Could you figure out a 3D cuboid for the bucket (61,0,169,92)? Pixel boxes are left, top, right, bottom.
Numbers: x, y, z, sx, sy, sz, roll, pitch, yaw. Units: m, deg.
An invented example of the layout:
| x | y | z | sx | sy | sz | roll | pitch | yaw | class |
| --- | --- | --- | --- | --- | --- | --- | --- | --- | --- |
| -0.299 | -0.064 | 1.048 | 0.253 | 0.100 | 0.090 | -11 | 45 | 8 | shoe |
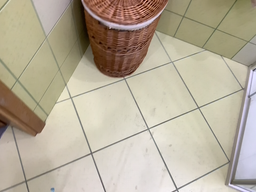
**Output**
| x | y | z | sx | sy | sz | roll | pitch | yaw | class |
| --- | --- | --- | --- | --- | --- | --- | --- | --- | --- |
| -0.030 | -0.390 | 1.110 | 0.360 | 0.580 | 0.450 | 23 | 67 | 3 | bucket |
